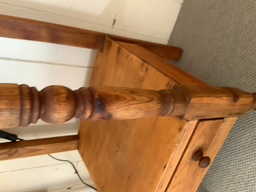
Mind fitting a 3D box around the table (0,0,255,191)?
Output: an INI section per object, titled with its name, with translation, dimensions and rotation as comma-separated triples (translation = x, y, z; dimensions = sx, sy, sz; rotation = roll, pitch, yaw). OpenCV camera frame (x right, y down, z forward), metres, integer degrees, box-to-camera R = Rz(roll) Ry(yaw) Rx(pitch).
[table]
translation = -0.060, 0.080, 0.540
dimensions = 0.430, 0.730, 0.470
rotation = 44, 123, 47
